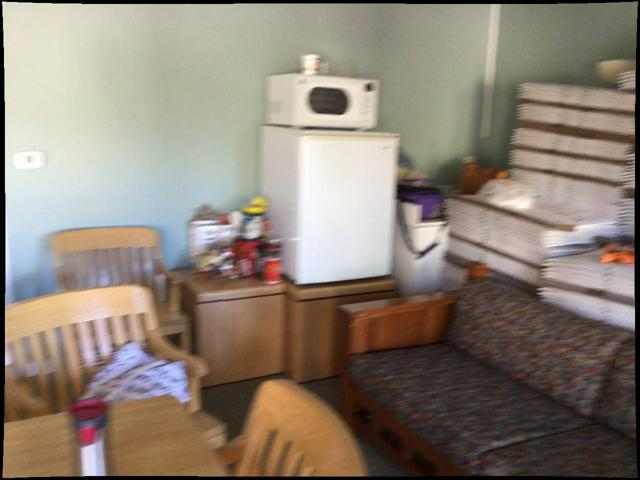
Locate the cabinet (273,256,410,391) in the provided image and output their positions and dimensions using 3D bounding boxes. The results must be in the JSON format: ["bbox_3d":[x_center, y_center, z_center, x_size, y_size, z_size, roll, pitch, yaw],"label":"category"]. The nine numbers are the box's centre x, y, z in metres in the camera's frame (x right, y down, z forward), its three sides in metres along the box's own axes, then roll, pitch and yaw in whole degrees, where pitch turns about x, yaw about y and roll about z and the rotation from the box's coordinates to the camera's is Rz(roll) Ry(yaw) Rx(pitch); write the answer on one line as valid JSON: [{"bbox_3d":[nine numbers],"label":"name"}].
[{"bbox_3d":[0.120,0.450,3.320,0.699,0.571,0.330,-8,17,-28],"label":"cabinet"}]

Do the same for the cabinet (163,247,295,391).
[{"bbox_3d":[-0.519,0.410,3.280,0.560,0.561,0.560,-8,17,-28],"label":"cabinet"}]
